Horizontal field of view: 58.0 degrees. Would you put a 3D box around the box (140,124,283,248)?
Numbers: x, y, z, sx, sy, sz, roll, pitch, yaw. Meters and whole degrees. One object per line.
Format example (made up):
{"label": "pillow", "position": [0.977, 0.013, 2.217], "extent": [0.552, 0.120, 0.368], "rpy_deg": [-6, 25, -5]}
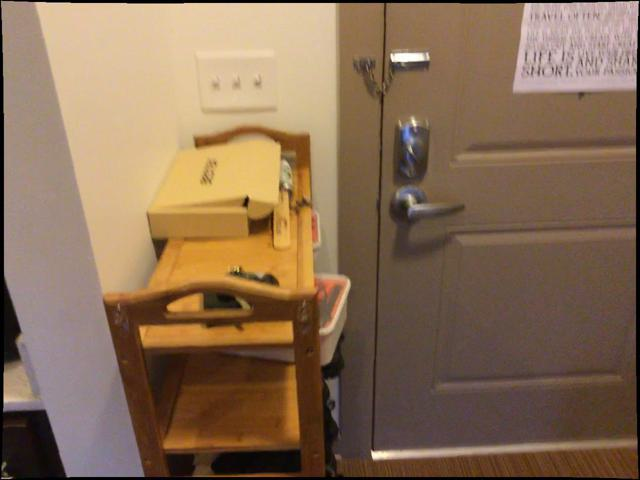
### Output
{"label": "box", "position": [-0.200, -0.120, 1.140], "extent": [0.229, 0.110, 0.340], "rpy_deg": [-5, 27, -4]}
